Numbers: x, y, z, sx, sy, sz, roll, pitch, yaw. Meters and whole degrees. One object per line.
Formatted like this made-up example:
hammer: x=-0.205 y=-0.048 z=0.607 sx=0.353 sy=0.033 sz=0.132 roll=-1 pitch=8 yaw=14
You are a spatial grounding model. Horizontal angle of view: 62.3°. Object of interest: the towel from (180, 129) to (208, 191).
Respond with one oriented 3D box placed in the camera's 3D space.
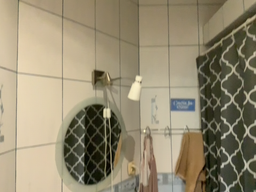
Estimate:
towel: x=0.530 y=0.670 z=1.690 sx=0.190 sy=0.790 sz=0.130 roll=-2 pitch=-4 yaw=21
